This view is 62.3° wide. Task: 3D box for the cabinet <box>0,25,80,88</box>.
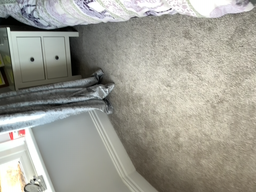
[{"bbox_3d":[-0.870,-0.410,2.120,0.410,0.610,0.520,15,111,45],"label":"cabinet"}]
